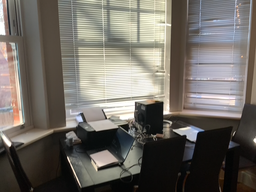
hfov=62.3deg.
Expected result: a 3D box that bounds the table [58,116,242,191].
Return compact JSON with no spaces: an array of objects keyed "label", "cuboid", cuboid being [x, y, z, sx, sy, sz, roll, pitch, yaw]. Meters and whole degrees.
[{"label":"table","cuboid":[0.150,0.780,2.120,1.480,0.760,0.980,-5,11,-23]}]

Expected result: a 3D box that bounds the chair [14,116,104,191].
[{"label":"chair","cuboid":[-0.560,0.730,1.780,0.600,0.980,0.410,-6,12,-28]}]

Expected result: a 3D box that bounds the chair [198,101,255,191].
[{"label":"chair","cuboid":[1.180,0.600,2.360,0.580,1.000,0.410,-3,11,-13]}]

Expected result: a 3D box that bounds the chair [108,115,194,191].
[{"label":"chair","cuboid":[0.150,0.730,1.780,0.410,0.980,0.630,-5,11,-25]}]

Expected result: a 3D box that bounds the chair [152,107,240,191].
[{"label":"chair","cuboid":[0.570,0.680,1.960,0.410,1.000,0.630,-5,11,-25]}]
